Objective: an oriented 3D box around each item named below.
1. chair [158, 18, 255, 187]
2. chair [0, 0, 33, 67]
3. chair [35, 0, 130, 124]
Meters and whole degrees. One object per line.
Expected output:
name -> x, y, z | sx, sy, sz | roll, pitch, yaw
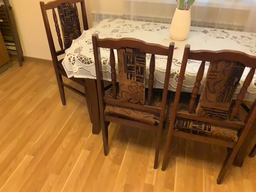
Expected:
chair -> 0.490, 0.060, 1.350 | 0.430, 0.910, 0.470 | 11, 38, 12
chair -> -1.570, -0.810, 2.520 | 0.630, 0.830, 0.210 | 10, 37, 10
chair -> -0.340, -0.320, 1.840 | 0.490, 0.890, 0.490 | 26, 43, 29
